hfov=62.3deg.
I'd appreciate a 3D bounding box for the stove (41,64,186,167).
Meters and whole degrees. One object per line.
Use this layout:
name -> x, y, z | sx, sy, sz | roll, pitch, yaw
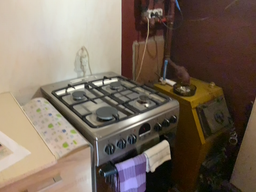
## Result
stove -> -0.100, 0.030, 1.180 | 0.510, 0.190, 0.620 | -19, 32, -36
